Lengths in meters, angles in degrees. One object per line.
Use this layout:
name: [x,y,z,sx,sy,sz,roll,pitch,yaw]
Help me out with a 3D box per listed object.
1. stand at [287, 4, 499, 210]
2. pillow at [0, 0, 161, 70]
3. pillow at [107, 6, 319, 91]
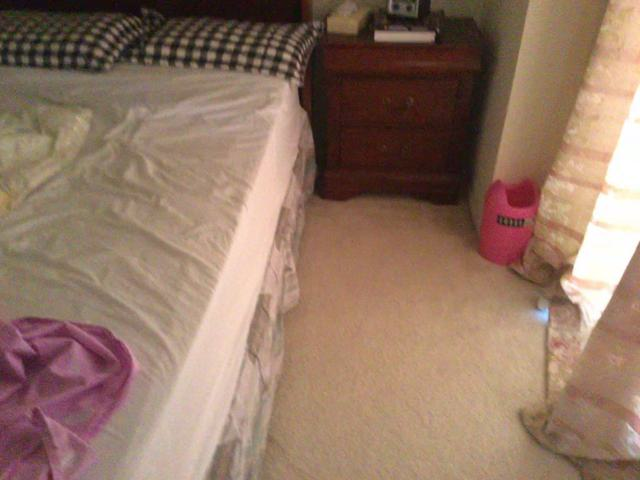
stand: [0.250,-0.540,2.350,0.730,0.680,0.410,3,33,1]
pillow: [-0.950,-0.710,1.950,0.700,0.110,0.440,3,33,1]
pillow: [-0.330,-0.670,1.990,0.630,0.140,0.450,3,33,1]
